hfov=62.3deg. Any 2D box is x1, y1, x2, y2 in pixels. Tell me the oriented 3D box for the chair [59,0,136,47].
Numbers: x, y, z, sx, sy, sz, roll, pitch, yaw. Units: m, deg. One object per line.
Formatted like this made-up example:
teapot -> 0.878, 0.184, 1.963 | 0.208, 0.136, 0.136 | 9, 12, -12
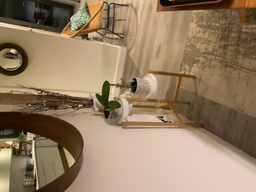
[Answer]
chair -> -0.610, -1.270, 3.630 | 1.410, 0.820, 0.610 | 33, 116, 59
